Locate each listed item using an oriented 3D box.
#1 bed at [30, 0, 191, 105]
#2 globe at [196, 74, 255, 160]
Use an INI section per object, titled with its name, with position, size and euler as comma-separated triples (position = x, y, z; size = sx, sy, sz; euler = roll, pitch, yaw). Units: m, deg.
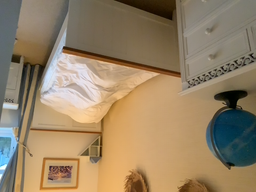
[bed]
position = -0.440, -0.420, 2.530
size = 1.080, 0.550, 2.090
euler = 8, 162, -28
[globe]
position = 0.620, 0.140, 1.150
size = 0.370, 0.390, 0.270
euler = 8, 162, -28
